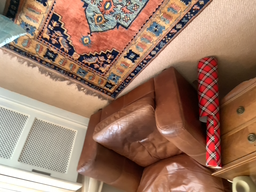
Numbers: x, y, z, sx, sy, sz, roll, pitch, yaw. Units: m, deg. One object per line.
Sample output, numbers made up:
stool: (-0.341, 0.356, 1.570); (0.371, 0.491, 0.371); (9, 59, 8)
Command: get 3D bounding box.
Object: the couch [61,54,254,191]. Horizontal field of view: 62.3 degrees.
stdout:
couch: (0.230, 0.490, 1.770); (1.020, 0.840, 1.010); (-32, 128, 33)
